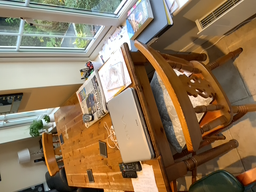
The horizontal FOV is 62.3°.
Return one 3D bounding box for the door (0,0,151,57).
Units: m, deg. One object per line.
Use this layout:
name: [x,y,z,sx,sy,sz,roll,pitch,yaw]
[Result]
door: [-0.370,-0.560,0.900,1.580,1.280,0.080,-30,72,53]
